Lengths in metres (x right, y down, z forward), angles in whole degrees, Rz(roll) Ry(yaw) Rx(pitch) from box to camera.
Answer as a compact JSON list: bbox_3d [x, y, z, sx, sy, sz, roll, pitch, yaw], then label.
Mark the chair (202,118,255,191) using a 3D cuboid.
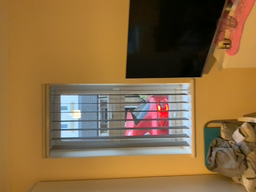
[{"bbox_3d":[1.080,0.430,1.640,0.550,0.790,0.480,158,112,-85],"label":"chair"}]
